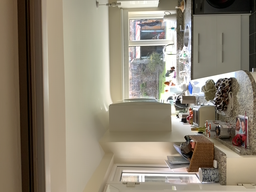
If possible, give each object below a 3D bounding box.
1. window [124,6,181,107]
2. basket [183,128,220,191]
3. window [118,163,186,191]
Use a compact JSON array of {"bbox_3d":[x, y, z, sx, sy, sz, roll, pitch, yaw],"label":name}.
[{"bbox_3d":[0.460,-0.730,4.080,0.240,1.040,1.870,-38,-53,-87],"label":"window"},{"bbox_3d":[0.590,0.500,1.750,0.340,0.200,0.410,-36,-55,-87],"label":"basket"},{"bbox_3d":[0.190,0.680,1.790,0.320,0.520,0.110,-56,-35,-86],"label":"window"}]
